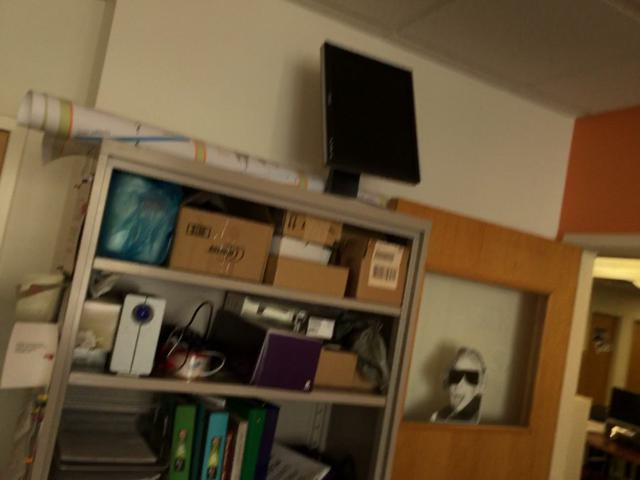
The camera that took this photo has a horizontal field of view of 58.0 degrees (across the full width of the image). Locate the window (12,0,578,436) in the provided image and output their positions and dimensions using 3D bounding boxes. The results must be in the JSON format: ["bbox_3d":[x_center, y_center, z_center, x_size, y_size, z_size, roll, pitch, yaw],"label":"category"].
[{"bbox_3d":[0.120,-0.050,1.880,1.780,1.270,0.260,11,-7,-31],"label":"window"}]

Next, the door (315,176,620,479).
[{"bbox_3d":[0.510,0.900,1.990,1.120,2.010,0.240,11,-7,-31],"label":"door"}]
